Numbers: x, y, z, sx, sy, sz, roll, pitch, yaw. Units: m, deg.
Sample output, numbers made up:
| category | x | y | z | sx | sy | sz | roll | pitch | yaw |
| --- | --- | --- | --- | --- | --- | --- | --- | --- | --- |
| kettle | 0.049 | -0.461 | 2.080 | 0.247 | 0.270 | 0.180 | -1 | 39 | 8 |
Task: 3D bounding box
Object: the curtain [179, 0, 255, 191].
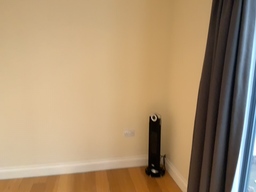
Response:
| category | x | y | z | sx | sy | sz | roll | pitch | yaw |
| --- | --- | --- | --- | --- | --- | --- | --- | --- | --- |
| curtain | 0.660 | 0.100 | 1.600 | 0.250 | 2.430 | 0.480 | -1 | 12 | -10 |
